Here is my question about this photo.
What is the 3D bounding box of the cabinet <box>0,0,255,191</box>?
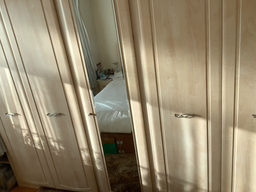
[{"bbox_3d":[-0.070,-0.200,1.760,2.860,2.500,0.370,-2,21,18],"label":"cabinet"}]
